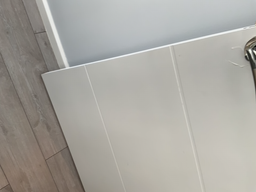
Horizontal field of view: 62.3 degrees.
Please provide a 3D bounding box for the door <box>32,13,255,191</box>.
[{"bbox_3d":[0.360,0.240,0.480,0.040,2.050,0.840,-29,110,-42],"label":"door"}]
